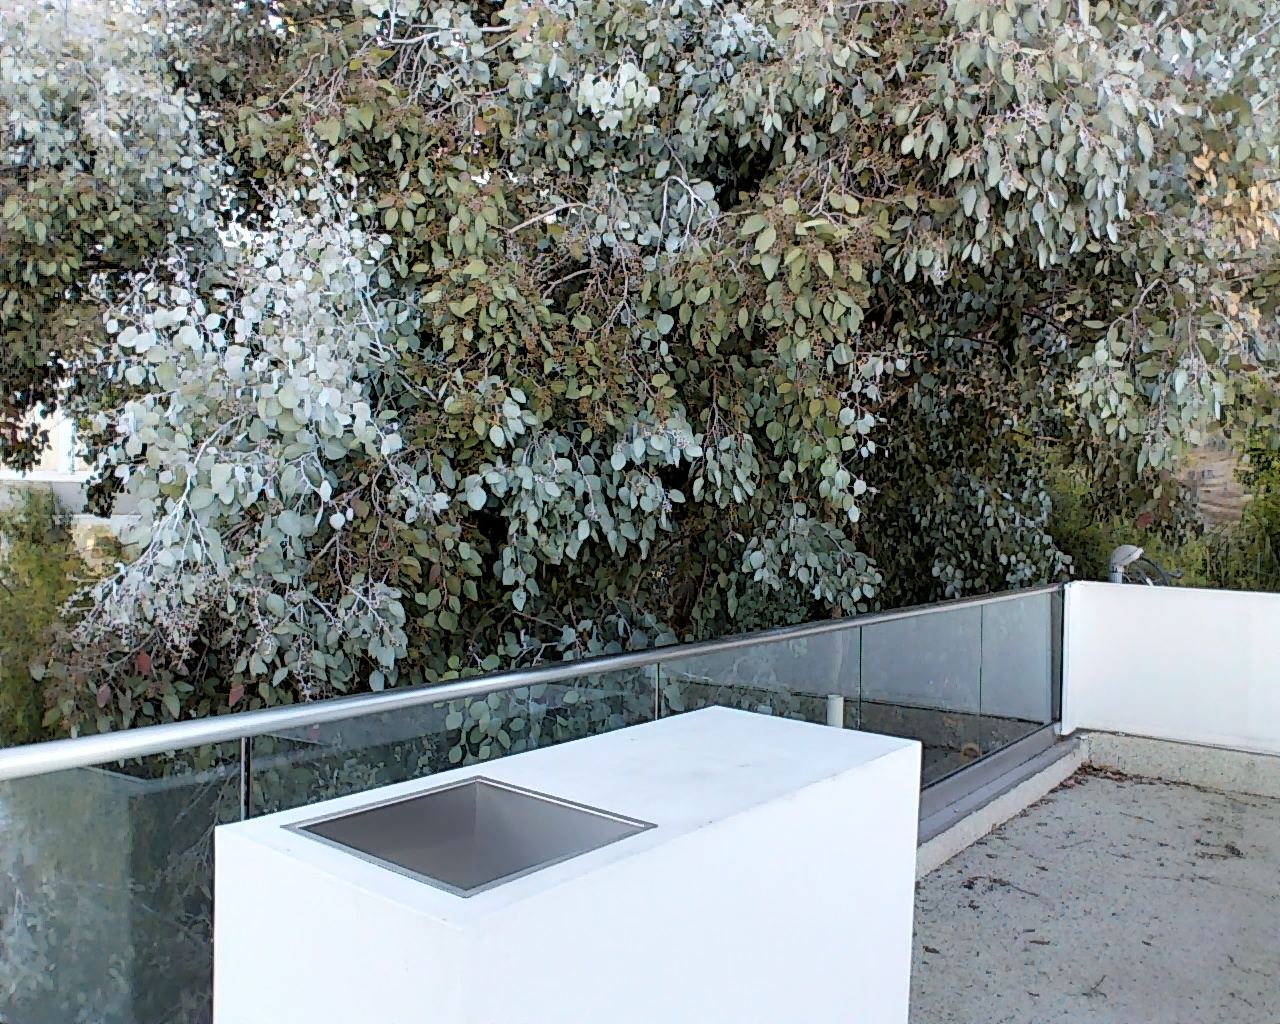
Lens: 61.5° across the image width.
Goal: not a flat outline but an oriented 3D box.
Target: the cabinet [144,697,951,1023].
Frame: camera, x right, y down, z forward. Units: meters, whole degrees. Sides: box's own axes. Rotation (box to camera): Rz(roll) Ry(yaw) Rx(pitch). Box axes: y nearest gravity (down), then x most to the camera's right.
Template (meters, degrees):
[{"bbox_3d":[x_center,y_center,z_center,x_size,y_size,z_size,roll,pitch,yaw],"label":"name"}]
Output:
[{"bbox_3d":[-0.050,1.020,2.230,0.720,0.960,1.630,2,1,40],"label":"cabinet"}]

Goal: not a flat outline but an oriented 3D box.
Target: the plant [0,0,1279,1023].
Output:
[{"bbox_3d":[0.480,-0.400,3.220,4.109,3.531,1.780,1,1,-5],"label":"plant"}]
